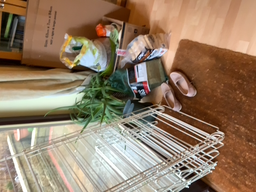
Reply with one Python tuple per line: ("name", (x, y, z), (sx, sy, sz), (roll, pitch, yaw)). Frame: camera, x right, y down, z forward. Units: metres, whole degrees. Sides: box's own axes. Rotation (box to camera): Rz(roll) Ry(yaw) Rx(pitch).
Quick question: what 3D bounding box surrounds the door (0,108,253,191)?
("door", (-0.190, 0.560, 0.820), (2.150, 2.110, 0.100), (32, 114, 47))
